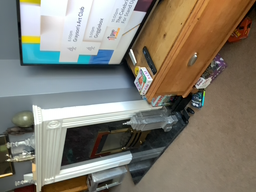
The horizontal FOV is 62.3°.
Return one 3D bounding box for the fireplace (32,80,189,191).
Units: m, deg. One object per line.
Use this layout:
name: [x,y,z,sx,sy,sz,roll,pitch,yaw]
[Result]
fireplace: [-0.320,0.560,2.220,0.550,1.200,1.450,65,146,34]
